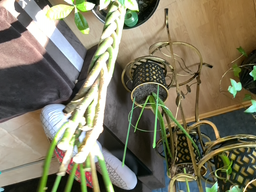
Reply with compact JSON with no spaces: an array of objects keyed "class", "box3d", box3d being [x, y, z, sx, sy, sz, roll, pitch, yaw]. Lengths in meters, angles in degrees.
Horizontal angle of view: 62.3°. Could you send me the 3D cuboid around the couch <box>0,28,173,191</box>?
[{"class":"couch","box3d":[-0.890,0.710,1.660,2.200,1.260,1.090,-21,131,22]}]
